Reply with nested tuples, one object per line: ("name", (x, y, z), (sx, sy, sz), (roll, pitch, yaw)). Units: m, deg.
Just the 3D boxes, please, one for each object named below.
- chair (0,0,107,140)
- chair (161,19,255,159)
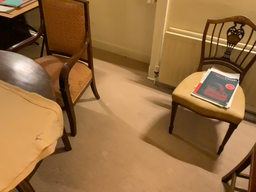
("chair", (-0.580, -0.240, 1.700), (0.610, 0.950, 0.510), (20, 46, 19))
("chair", (0.610, -0.050, 1.570), (0.470, 0.770, 0.530), (20, 46, 19))
